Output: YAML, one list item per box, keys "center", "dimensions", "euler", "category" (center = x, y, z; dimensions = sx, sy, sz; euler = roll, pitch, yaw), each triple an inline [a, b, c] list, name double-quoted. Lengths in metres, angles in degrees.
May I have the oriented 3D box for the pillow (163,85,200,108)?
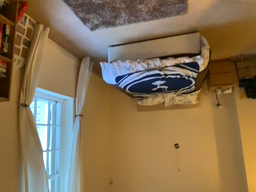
- center: [1.130, 0.020, 4.500]
  dimensions: [0.730, 0.460, 0.140]
  euler: [-5, -133, 14]
  category: "pillow"
